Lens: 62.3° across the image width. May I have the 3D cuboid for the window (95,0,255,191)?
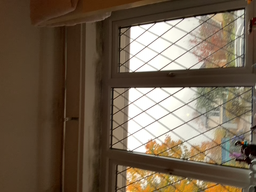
[{"bbox_3d":[0.280,0.220,1.480,0.130,1.080,1.600,8,-96,-63],"label":"window"}]
